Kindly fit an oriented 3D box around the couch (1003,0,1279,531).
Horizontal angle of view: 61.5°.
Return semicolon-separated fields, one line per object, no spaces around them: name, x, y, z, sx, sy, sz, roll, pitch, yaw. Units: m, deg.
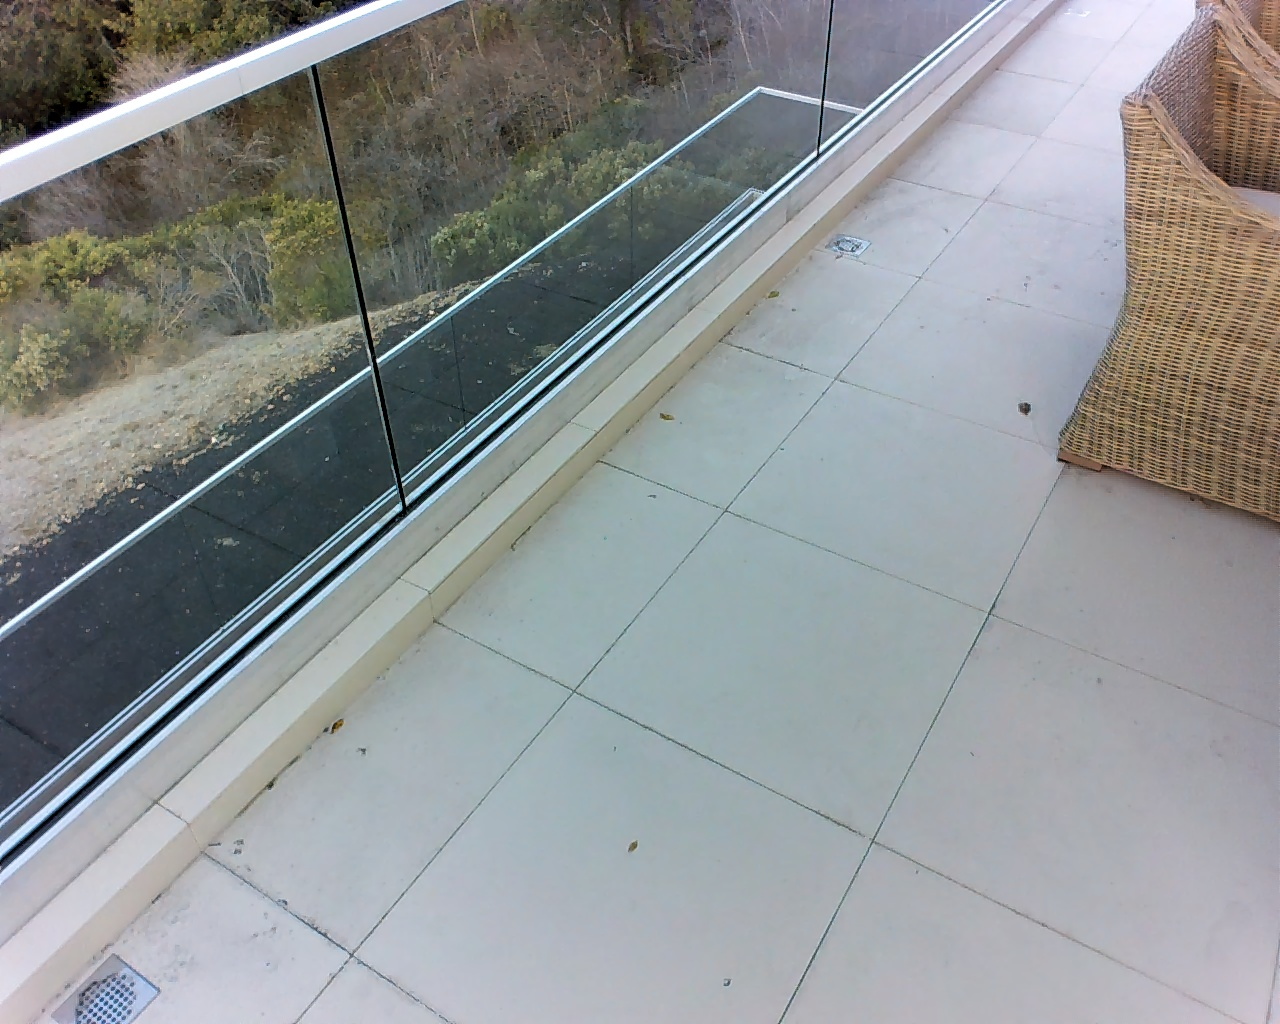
couch;1.370;-0.550;2.320;0.780;0.810;0.770;21;46;24
